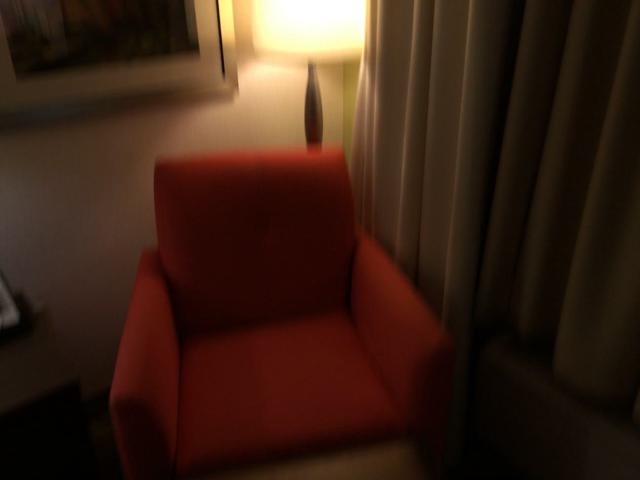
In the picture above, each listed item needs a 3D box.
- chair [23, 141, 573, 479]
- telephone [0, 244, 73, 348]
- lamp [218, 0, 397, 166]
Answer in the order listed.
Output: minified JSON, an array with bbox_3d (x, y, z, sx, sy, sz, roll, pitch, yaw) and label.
[{"bbox_3d":[-0.090,0.310,1.600,0.980,0.940,0.900,-4,23,-11],"label":"chair"},{"bbox_3d":[-0.880,0.160,1.650,0.250,0.200,0.170,-19,30,-40],"label":"telephone"},{"bbox_3d":[-0.040,-0.580,1.740,0.360,0.590,0.380,-19,30,-40],"label":"lamp"}]
